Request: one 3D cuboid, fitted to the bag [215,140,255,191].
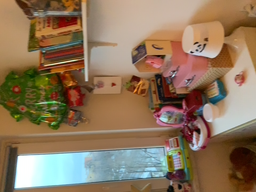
[{"bbox_3d":[1.020,0.540,1.530,0.360,0.550,0.410,118,149,-68],"label":"bag"}]
